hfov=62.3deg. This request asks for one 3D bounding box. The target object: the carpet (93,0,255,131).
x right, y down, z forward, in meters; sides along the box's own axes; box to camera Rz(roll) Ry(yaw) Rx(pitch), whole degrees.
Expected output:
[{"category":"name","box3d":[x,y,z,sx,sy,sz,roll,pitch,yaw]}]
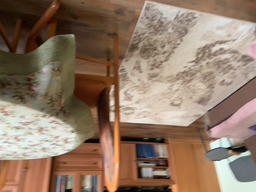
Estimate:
[{"category":"carpet","box3d":[0.570,-0.020,2.330,1.620,0.030,2.070,6,150,-15]}]

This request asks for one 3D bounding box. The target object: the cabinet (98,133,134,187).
[{"category":"cabinet","box3d":[-0.210,1.070,3.510,0.470,0.750,0.500,5,150,-14]}]

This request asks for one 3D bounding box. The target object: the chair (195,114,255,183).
[{"category":"chair","box3d":[1.420,0.760,3.030,0.550,0.830,0.520,6,150,-15]}]
